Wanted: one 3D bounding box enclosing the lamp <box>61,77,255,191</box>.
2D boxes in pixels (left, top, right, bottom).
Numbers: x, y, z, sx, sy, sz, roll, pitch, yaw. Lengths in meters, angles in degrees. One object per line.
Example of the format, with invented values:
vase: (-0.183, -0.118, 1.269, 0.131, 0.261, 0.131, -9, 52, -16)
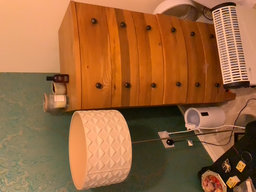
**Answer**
lamp: (0.290, 0.230, 1.330, 0.480, 1.270, 0.490, 64, 145, 39)
